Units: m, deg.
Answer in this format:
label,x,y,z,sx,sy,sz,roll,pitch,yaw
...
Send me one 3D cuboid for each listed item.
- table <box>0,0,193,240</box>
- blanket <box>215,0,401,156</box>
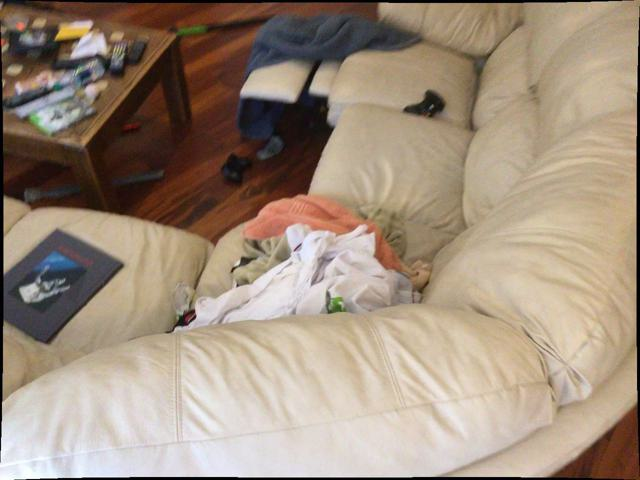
label,x,y,z,sx,sy,sz,roll,pitch,yaw
table,-1.139,-0.560,2.410,0.899,0.490,0.890,9,48,4
blanket,-0.050,-0.841,2.710,0.739,0.520,0.690,3,47,-1
